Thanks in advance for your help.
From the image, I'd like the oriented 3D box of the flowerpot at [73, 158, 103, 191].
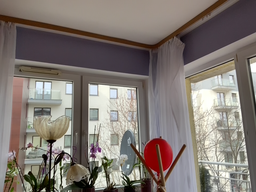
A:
[{"bbox_3d":[-0.420,0.930,2.200,0.250,0.510,0.250,4,-12,-25],"label":"flowerpot"}]
